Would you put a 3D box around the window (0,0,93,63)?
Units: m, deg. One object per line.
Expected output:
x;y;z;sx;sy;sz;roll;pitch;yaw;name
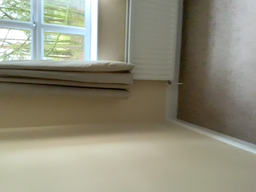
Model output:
-0.830;-0.740;2.030;0.040;0.990;0.790;-162;73;-67;window
